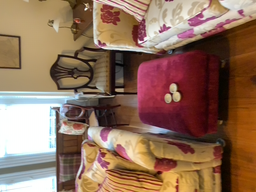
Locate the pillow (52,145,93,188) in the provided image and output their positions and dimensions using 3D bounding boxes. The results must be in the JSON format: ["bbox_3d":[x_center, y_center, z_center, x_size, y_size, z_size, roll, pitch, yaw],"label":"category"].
[{"bbox_3d":[-0.870,1.090,3.340,0.190,0.480,0.440,-3,104,60],"label":"pillow"}]

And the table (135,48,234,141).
[{"bbox_3d":[0.410,-0.010,1.720,0.710,0.400,0.580,0,90,61],"label":"table"}]
